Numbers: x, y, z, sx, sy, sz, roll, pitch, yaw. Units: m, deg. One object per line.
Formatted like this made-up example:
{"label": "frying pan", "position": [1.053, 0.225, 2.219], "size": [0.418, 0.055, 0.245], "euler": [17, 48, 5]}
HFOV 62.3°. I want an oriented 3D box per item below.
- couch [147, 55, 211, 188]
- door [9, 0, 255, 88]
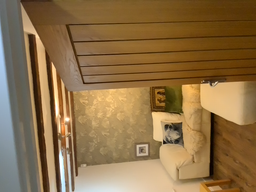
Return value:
{"label": "couch", "position": [0.830, 0.350, 3.750], "size": [1.030, 0.730, 2.060], "euler": [-134, 41, -79]}
{"label": "door", "position": [0.530, -0.250, 1.150], "size": [0.770, 1.900, 0.060], "euler": [109, 157, -71]}
